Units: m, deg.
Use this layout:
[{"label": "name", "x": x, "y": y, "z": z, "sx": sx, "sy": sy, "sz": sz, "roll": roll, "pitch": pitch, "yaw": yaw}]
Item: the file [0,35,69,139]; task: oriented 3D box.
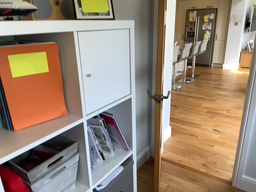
[{"label": "file", "x": -0.470, "y": -0.070, "z": 0.830, "sx": 0.320, "sy": 0.300, "sz": 0.300, "roll": 12, "pitch": 23, "yaw": 32}]
